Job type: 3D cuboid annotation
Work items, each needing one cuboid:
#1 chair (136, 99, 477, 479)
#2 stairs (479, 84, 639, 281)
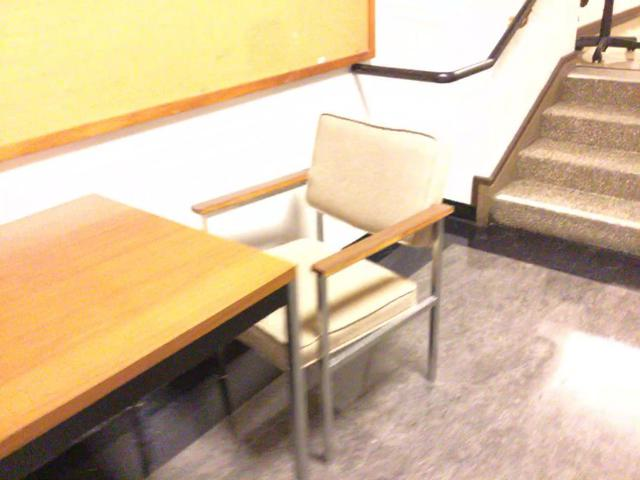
[{"bbox_3d":[-0.020,0.100,1.790,0.670,0.890,0.690,17,29,34],"label":"chair"},{"bbox_3d":[1.340,-0.330,2.750,0.790,0.630,0.850,17,29,34],"label":"stairs"}]
